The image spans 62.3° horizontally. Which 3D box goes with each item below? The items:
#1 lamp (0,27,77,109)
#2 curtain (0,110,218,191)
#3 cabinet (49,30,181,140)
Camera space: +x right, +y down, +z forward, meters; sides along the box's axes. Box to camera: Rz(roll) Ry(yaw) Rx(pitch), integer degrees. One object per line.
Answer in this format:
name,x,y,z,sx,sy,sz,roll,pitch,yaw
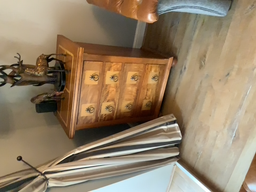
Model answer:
lamp,-0.830,-0.200,1.340,0.420,0.860,0.430,32,119,50
curtain,-0.430,0.430,1.180,0.510,2.250,0.310,38,123,48
cabinet,-0.130,-0.120,1.830,0.500,0.910,0.680,37,122,48
